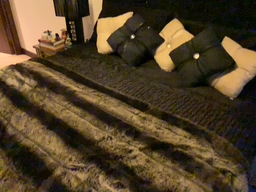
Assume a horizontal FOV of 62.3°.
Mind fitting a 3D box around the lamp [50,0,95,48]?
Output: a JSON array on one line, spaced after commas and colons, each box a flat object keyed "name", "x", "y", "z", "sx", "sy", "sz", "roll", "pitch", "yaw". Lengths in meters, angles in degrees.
[{"name": "lamp", "x": -0.520, "y": -0.720, "z": 2.050, "sx": 0.280, "sy": 0.400, "sz": 0.260, "roll": 24, "pitch": 39, "yaw": 30}]
